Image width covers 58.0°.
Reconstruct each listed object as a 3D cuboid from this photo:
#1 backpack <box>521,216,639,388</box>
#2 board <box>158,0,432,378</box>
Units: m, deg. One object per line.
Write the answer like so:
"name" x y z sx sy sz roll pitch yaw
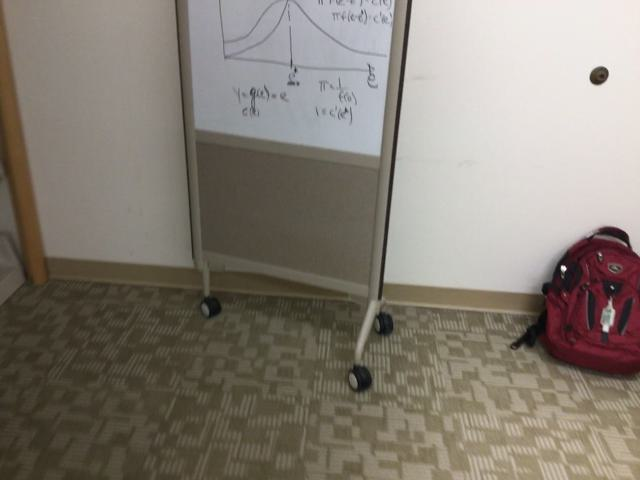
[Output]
"backpack" 1.020 0.210 2.060 0.410 0.470 0.380 4 19 1
"board" -0.110 -0.270 1.920 0.790 1.320 0.260 10 20 16
